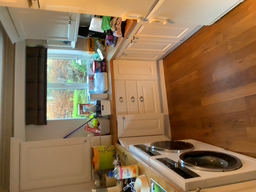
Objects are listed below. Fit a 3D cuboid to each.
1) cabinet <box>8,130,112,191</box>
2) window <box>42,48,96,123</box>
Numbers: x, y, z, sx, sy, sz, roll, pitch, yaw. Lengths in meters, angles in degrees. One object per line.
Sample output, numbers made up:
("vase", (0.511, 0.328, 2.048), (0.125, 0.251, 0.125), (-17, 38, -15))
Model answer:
("cabinet", (-0.920, 0.900, 3.000), (0.410, 1.290, 0.720), (144, 123, -69))
("window", (-1.030, -0.210, 3.680), (0.050, 0.870, 1.290), (142, 125, -68))
